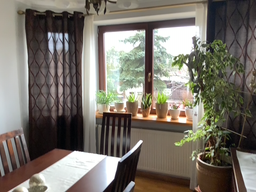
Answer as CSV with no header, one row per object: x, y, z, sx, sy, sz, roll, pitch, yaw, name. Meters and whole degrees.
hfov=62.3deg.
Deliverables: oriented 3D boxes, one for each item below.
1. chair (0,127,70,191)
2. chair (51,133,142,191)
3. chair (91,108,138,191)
-0.870,0.850,1.870,0.520,1.020,0.450,3,8,22,chair
-0.210,0.870,1.640,0.500,1.020,0.450,3,8,25,chair
-0.160,0.710,2.900,0.560,1.020,0.490,0,8,5,chair
